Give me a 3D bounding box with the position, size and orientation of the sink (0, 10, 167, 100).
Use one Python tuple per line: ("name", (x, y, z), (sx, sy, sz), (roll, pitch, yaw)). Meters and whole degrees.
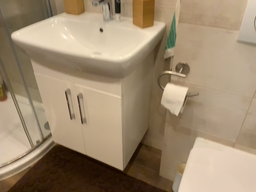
("sink", (-0.220, -0.250, 1.020), (0.690, 0.160, 0.450), (14, 38, 20))
